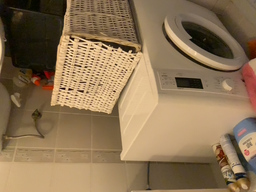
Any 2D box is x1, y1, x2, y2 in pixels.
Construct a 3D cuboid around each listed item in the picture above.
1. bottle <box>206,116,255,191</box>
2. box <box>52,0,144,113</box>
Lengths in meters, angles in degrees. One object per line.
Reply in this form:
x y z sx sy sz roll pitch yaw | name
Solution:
0.560 0.280 0.920 0.250 0.280 0.240 7 137 -19 | bottle
-0.200 -0.300 1.190 0.330 0.580 0.490 8 138 -18 | box
